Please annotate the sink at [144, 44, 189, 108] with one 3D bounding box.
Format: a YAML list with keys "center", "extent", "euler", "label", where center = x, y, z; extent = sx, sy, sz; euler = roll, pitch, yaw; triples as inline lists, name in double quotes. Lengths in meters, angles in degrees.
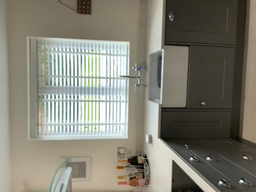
- center: [0.380, -0.200, 2.280]
  extent: [0.650, 0.250, 0.590]
  euler: [-159, 70, -80]
  label: "sink"
